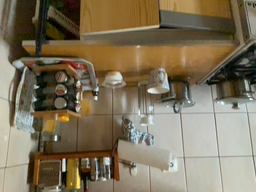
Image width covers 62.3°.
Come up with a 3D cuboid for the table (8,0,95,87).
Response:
[{"bbox_3d":[-0.330,-0.510,1.120,0.250,0.810,0.520,-1,167,-2],"label":"table"}]
